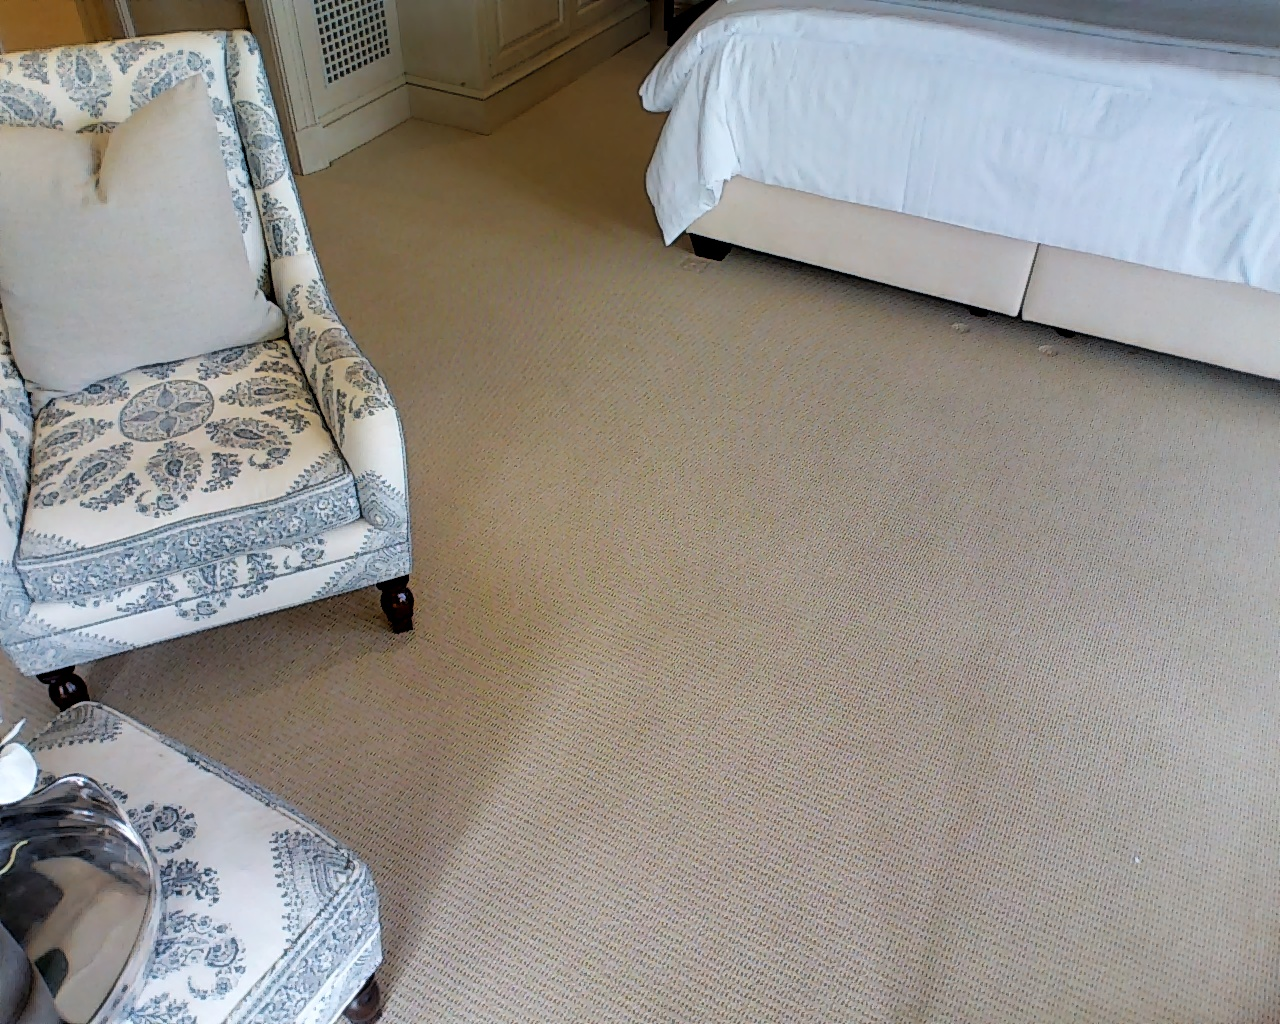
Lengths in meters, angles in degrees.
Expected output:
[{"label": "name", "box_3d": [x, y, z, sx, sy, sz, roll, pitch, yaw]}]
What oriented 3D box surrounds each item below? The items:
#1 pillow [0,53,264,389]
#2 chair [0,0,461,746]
[{"label": "pillow", "box_3d": [-0.980, -0.530, 1.980, 0.490, 0.510, 0.270, 2, 23, -25]}, {"label": "chair", "box_3d": [-0.890, -0.320, 2.040, 0.770, 0.880, 0.990, -15, 44, -17]}]
